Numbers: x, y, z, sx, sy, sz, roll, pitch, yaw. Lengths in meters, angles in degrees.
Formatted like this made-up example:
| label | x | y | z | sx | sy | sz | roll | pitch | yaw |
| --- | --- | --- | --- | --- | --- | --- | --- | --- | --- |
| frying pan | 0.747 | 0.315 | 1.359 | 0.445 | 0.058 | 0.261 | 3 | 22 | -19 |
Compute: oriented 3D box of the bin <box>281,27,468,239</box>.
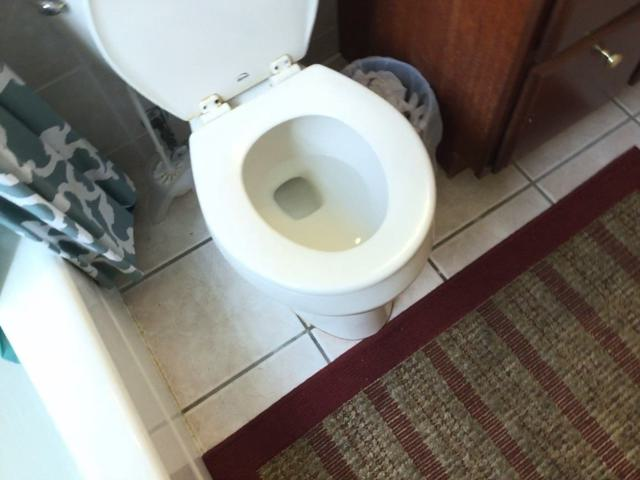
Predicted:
| label | x | y | z | sx | sy | sz | roll | pitch | yaw |
| --- | --- | --- | --- | --- | --- | --- | --- | --- | --- |
| bin | 0.110 | -0.220 | 1.230 | 0.250 | 0.250 | 0.270 | -32 | 67 | -10 |
